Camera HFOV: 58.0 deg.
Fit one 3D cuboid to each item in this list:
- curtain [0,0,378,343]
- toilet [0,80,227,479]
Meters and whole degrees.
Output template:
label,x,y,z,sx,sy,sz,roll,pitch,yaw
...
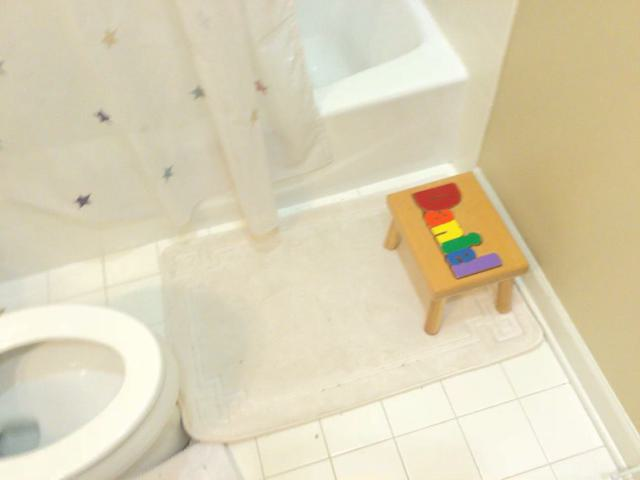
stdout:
label,x,y,z,sx,sy,sz,roll,pitch,yaw
curtain,-0.480,-0.510,0.760,1.110,2.030,0.250,-16,58,-7
toilet,-0.630,0.300,0.970,0.750,0.820,0.490,-17,58,-7
